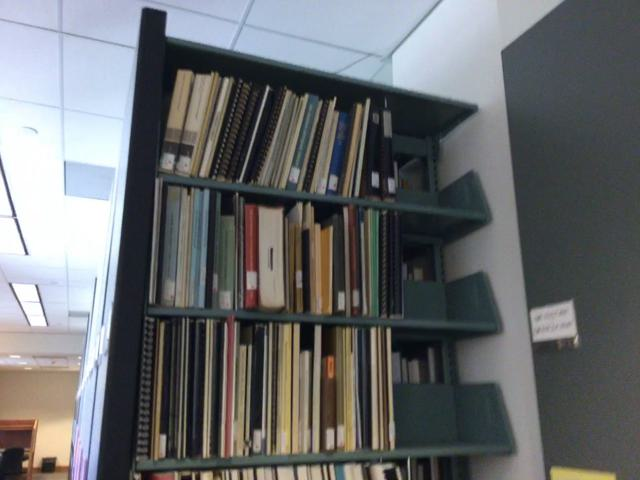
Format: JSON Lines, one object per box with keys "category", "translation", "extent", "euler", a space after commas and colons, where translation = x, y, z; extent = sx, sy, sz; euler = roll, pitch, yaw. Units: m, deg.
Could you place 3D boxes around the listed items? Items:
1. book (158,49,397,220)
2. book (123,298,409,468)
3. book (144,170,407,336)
{"category": "book", "translation": [-0.090, -0.250, 1.470], "extent": [0.580, 0.280, 0.130], "euler": [10, -21, -22]}
{"category": "book", "translation": [-0.100, 0.330, 1.270], "extent": [0.580, 0.310, 0.160], "euler": [10, -21, -22]}
{"category": "book", "translation": [-0.090, 0.050, 1.370], "extent": [0.580, 0.280, 0.160], "euler": [10, -21, -22]}
